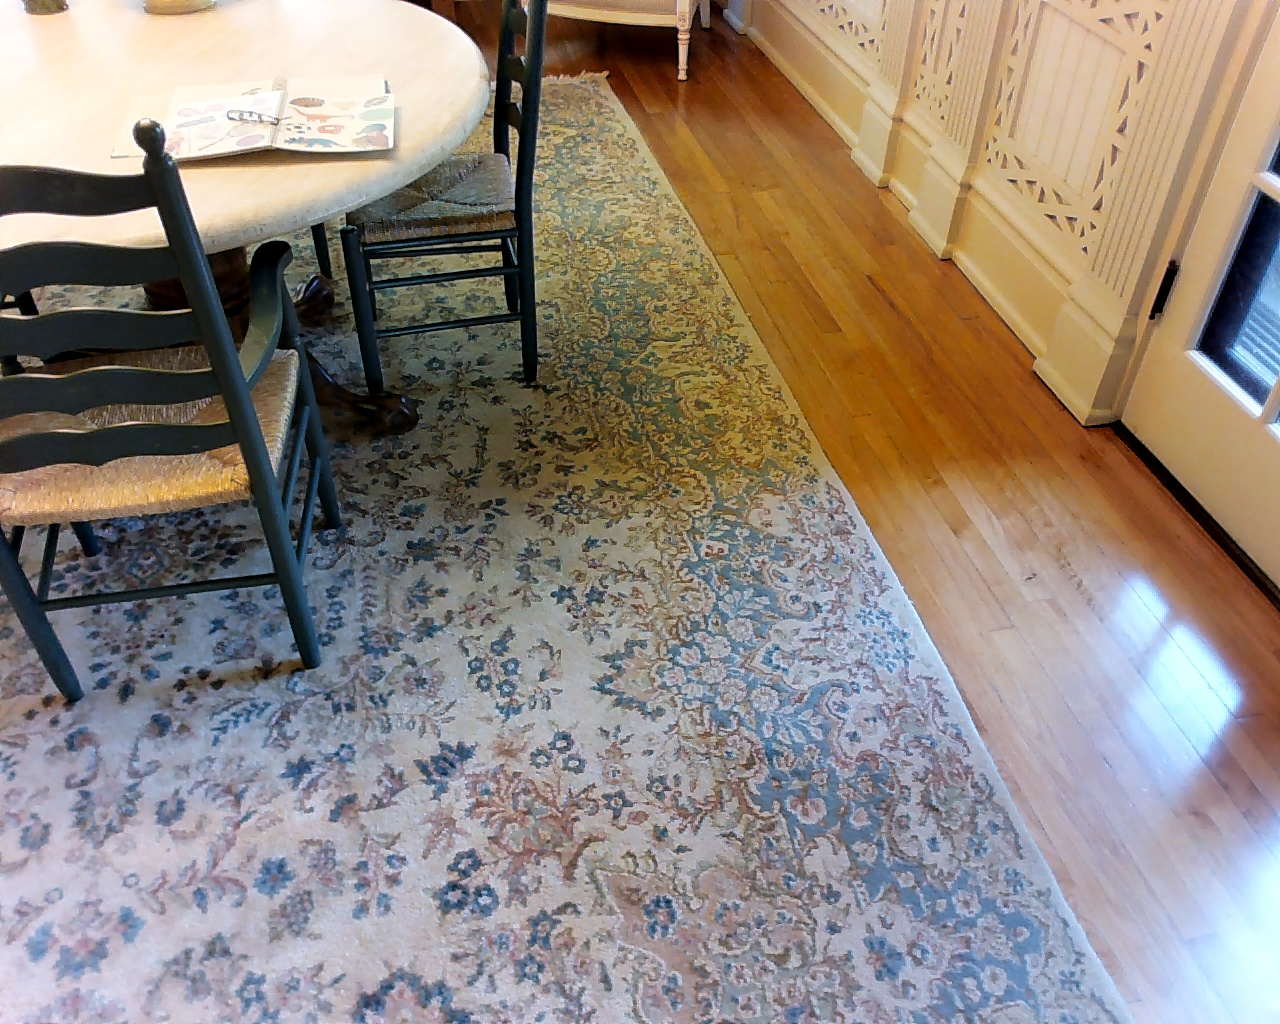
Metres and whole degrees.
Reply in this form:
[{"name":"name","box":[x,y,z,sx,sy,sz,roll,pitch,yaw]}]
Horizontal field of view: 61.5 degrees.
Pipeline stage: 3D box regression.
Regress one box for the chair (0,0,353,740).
[{"name":"chair","box":[-0.850,-0.220,1.760,0.560,1.060,0.550,-8,42,-10]}]

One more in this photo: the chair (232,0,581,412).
[{"name":"chair","box":[-0.510,-0.870,2.490,0.630,1.070,0.570,-8,42,-10]}]
